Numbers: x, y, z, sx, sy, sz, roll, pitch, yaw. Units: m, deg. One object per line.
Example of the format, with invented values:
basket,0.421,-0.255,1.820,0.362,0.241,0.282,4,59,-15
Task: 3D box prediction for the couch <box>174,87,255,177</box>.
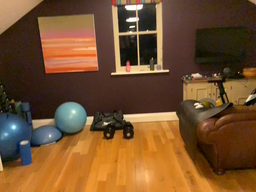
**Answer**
couch,1.840,0.400,2.970,2.130,0.800,1.130,-2,15,1
